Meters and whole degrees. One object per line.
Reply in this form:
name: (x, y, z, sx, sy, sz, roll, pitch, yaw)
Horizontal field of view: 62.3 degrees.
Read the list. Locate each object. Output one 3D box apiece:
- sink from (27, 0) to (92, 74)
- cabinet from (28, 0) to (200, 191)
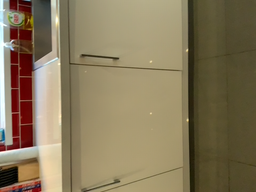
sink: (-0.400, -0.420, 1.160, 0.530, 0.180, 0.550, 0, 91, 55)
cabinet: (-0.090, -0.470, 1.380, 0.620, 0.910, 2.430, 0, 91, 55)
